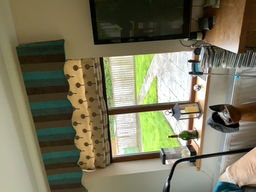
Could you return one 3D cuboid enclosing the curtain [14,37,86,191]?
[{"bbox_3d":[-0.610,0.310,1.830,0.170,0.300,1.550,-110,16,-67],"label":"curtain"}]

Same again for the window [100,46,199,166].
[{"bbox_3d":[0.210,0.120,2.100,0.160,0.870,1.140,-111,17,-68],"label":"window"}]
